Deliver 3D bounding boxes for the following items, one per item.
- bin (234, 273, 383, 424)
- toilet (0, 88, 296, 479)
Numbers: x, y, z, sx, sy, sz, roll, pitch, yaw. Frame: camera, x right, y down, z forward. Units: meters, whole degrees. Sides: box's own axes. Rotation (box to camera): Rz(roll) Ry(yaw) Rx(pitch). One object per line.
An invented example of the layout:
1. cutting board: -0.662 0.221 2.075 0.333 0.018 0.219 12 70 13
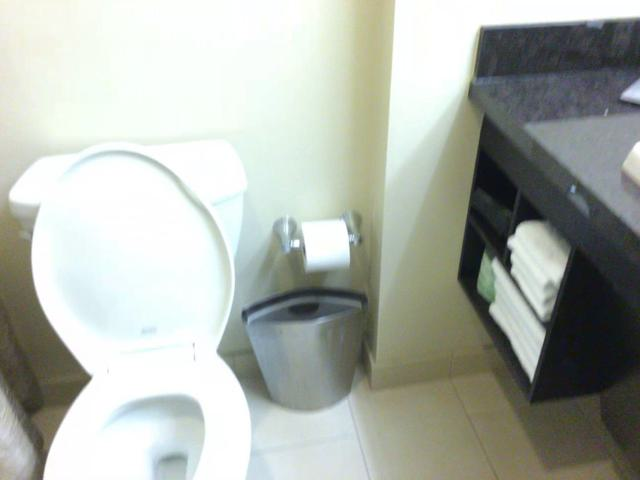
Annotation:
1. bin: -0.030 0.290 1.540 0.350 0.320 0.170 -8 36 -8
2. toilet: -0.310 0.280 1.110 0.440 0.860 0.760 -8 36 -8
